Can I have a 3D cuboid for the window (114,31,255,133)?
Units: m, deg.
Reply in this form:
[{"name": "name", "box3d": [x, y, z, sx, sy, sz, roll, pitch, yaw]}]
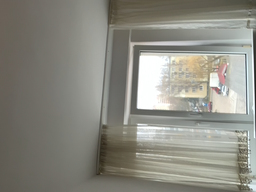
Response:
[{"name": "window", "box3d": [0.680, -0.180, 2.440, 0.180, 1.590, 1.110, 50, -137, -75]}]
